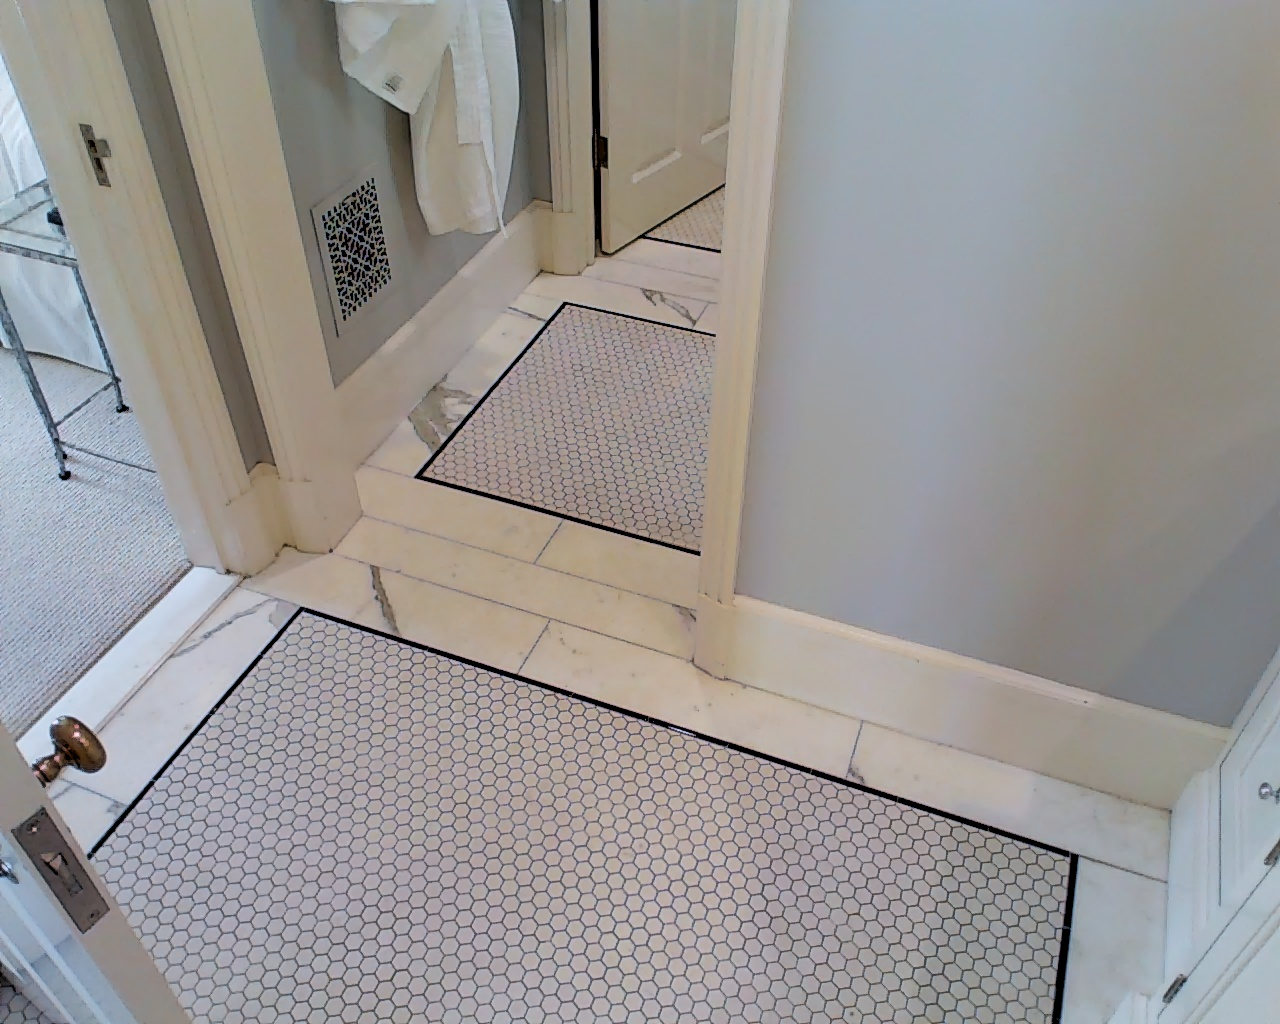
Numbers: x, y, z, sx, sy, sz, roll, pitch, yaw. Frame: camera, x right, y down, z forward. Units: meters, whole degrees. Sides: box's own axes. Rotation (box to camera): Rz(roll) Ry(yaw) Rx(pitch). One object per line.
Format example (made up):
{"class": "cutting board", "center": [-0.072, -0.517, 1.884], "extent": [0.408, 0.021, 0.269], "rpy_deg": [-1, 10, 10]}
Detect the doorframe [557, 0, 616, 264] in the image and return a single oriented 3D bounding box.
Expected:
{"class": "doorframe", "center": [-0.130, -1.530, 2.520], "extent": [0.060, 2.040, 0.150], "rpy_deg": [34, 52, 31]}
